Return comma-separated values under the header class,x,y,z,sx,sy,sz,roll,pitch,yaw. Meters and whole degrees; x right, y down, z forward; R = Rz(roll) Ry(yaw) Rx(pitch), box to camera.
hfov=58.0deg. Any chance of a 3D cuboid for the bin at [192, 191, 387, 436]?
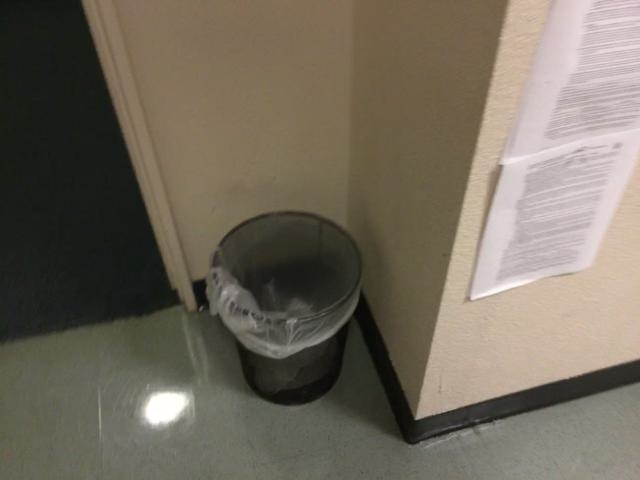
class,x,y,z,sx,sy,sz,roll,pitch,yaw
bin,-0.070,0.160,1.260,0.320,0.360,0.320,-11,47,-9
